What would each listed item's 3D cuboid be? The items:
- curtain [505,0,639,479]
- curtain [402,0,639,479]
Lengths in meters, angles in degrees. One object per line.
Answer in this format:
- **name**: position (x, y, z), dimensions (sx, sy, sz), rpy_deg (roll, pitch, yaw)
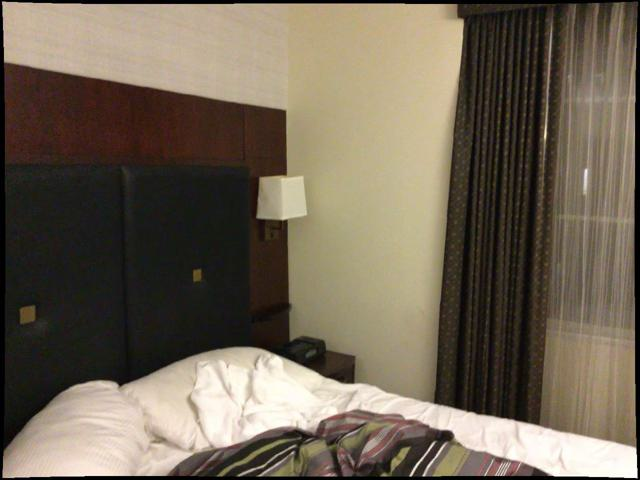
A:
- **curtain**: position (1.708, 0.150, 2.310), dimensions (1.659, 2.302, 0.210), rpy_deg (7, 10, 29)
- **curtain**: position (1.608, 0.180, 2.180), dimensions (2.488, 2.232, 0.340), rpy_deg (7, 10, 29)
